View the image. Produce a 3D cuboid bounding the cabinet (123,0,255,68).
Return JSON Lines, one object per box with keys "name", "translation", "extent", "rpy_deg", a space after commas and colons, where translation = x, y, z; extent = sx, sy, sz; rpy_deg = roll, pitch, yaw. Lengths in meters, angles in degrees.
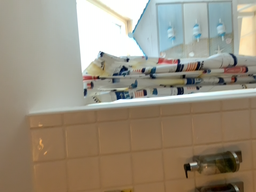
{"name": "cabinet", "translation": [0.470, -0.400, 1.370], "extent": [0.300, 0.960, 0.350], "rpy_deg": [-152, 57, -83]}
